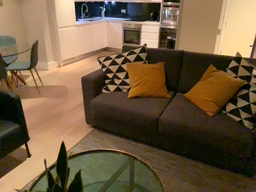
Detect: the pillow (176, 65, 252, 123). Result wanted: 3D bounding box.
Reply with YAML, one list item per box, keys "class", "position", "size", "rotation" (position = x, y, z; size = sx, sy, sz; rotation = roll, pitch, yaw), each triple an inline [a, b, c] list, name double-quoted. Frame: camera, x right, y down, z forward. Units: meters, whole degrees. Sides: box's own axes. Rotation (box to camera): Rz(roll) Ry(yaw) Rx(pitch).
- class: "pillow"
  position: [0.840, -0.050, 2.160]
  size: [0.210, 0.480, 0.550]
  rotation: [35, -4, -21]

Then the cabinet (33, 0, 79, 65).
- class: "cabinet"
  position: [-1.670, -1.850, 4.910]
  size: [0.650, 2.090, 0.620]
  rotation: [14, 27, 26]

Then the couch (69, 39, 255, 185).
- class: "couch"
  position: [0.510, -0.020, 2.480]
  size: [2.040, 0.930, 1.060]
  rotation: [13, 27, 22]

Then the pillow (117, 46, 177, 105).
- class: "pillow"
  position: [0.220, -0.220, 2.450]
  size: [0.530, 0.450, 0.160]
  rotation: [31, -9, -9]
